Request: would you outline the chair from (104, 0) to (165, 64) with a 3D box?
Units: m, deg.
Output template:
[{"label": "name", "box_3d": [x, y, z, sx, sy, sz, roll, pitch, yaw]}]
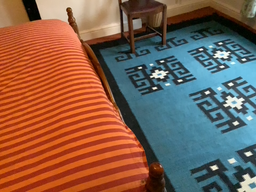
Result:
[{"label": "chair", "box_3d": [0.050, -0.890, 2.270, 0.470, 0.830, 0.550, -15, 43, -11]}]
